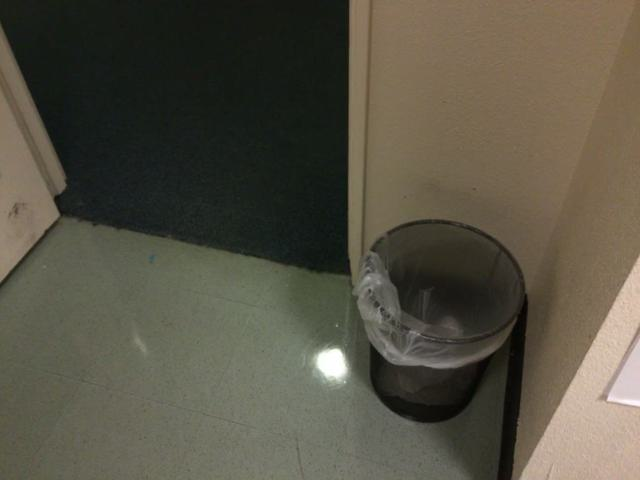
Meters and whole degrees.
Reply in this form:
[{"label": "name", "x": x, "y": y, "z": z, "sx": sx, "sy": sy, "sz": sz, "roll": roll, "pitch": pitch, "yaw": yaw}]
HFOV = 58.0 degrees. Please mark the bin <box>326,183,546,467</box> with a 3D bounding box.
[{"label": "bin", "x": 0.240, "y": 0.170, "z": 1.220, "sx": 0.350, "sy": 0.370, "sz": 0.380, "roll": 12, "pitch": 46, "yaw": 14}]
